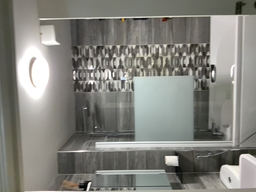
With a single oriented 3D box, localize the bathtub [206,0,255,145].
[{"bbox_3d":[1.290,-0.350,2.420,0.660,0.550,1.630,-91,-1,-85],"label":"bathtub"}]
